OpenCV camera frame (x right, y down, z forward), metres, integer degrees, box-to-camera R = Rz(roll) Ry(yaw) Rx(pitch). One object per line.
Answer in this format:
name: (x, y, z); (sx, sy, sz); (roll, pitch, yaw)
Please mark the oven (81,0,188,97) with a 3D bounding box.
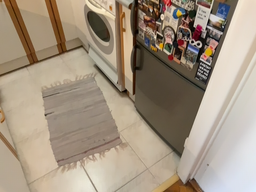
oven: (0.040, -0.500, 1.760); (0.610, 0.700, 0.490); (-26, 53, -22)
